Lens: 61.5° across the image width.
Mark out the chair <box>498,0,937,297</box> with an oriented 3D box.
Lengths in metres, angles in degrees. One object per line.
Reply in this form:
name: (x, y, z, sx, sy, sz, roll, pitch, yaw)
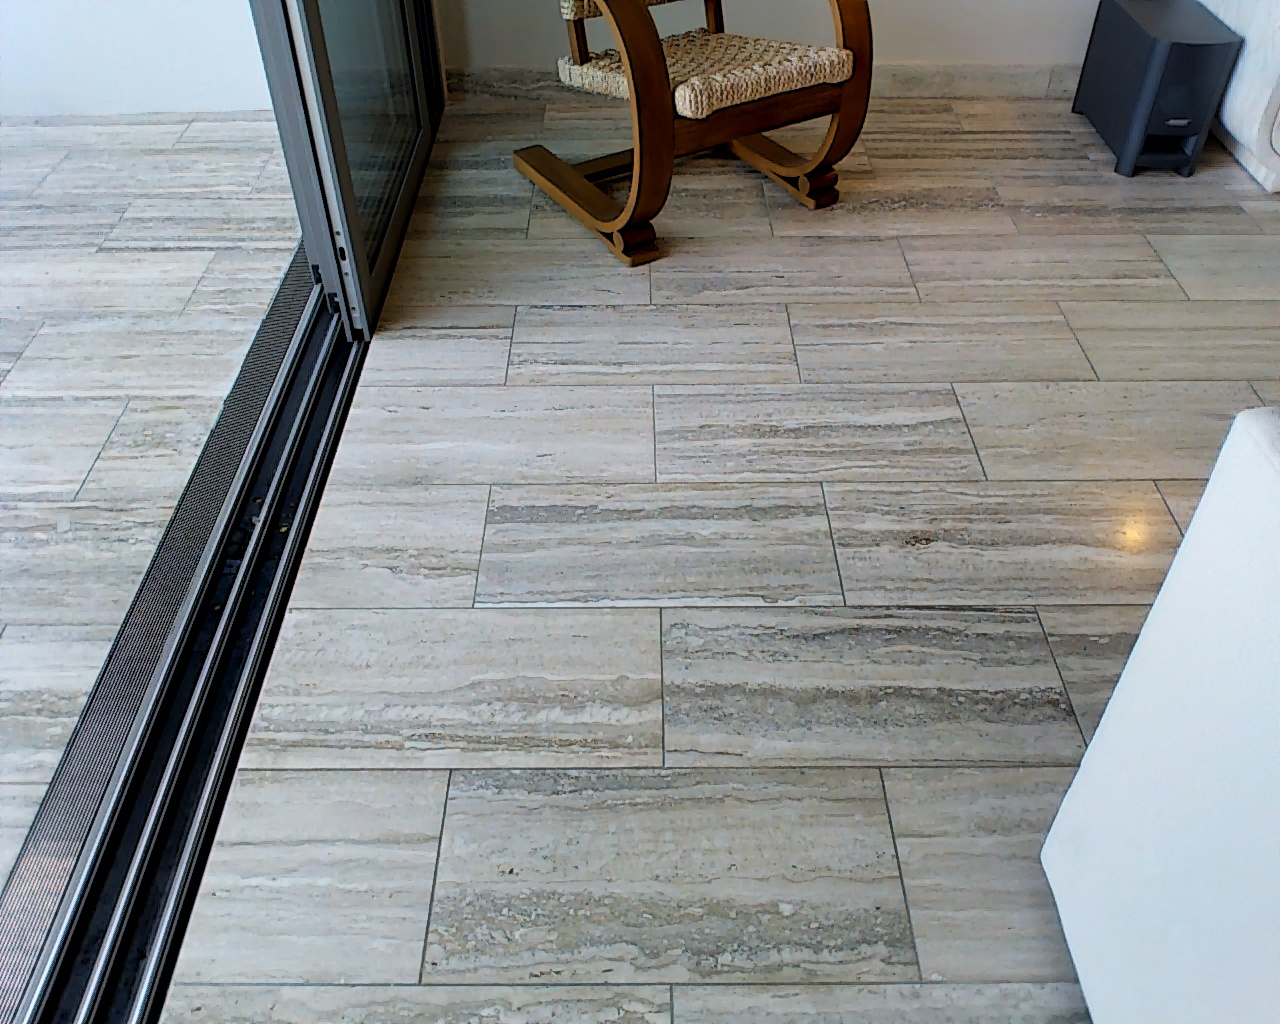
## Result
chair: (0.160, -1.090, 2.600, 0.760, 0.710, 0.700, -21, 46, -21)
